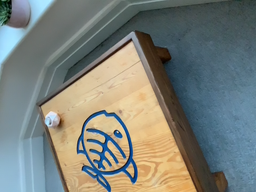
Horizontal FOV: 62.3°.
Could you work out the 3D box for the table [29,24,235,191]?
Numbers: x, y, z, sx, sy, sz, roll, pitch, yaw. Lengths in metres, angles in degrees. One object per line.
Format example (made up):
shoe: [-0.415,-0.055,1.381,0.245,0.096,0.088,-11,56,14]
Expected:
table: [-0.050,0.250,1.140,0.830,0.340,0.850,-28,79,33]
